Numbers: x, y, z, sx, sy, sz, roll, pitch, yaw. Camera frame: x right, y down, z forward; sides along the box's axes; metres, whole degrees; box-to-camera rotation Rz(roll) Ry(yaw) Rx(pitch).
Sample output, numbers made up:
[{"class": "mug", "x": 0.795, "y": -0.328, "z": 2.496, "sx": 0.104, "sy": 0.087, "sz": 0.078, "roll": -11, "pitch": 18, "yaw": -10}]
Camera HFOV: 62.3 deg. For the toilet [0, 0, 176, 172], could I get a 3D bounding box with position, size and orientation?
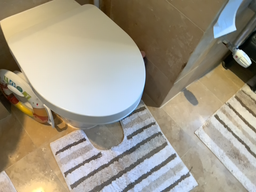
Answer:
[{"class": "toilet", "x": -0.200, "y": -0.070, "z": 0.910, "sx": 0.400, "sy": 0.450, "sz": 0.560, "roll": -33, "pitch": 72, "yaw": -23}]
